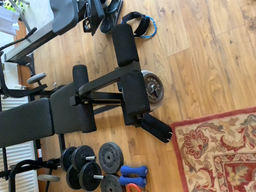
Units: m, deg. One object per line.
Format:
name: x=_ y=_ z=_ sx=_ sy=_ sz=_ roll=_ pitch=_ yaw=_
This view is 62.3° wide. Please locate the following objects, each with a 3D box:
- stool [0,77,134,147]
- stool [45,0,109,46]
stool: x=-0.510 y=0.150 z=1.610 sx=0.890 sy=0.600 sz=0.280 roll=-19 pitch=78 yaw=37
stool: x=-0.400 y=-0.640 z=1.670 sx=0.280 sy=0.350 sz=0.330 roll=-21 pitch=77 yaw=36
